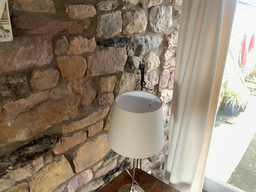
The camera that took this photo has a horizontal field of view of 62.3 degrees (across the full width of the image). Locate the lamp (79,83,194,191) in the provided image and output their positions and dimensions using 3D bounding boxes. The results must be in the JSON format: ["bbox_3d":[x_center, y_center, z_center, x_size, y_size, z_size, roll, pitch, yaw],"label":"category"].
[{"bbox_3d":[0.030,0.220,0.950,0.350,0.430,0.320,18,26,33],"label":"lamp"}]
